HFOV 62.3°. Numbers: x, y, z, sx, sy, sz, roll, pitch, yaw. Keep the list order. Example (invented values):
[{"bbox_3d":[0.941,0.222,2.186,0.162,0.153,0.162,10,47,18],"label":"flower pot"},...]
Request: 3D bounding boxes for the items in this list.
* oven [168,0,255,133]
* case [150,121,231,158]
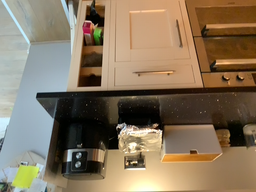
[{"bbox_3d":[0.680,-0.280,1.540,0.600,0.910,0.610,-2,151,1],"label":"oven"},{"bbox_3d":[0.400,0.300,1.440,0.470,0.190,0.210,-1,151,-1],"label":"case"}]
